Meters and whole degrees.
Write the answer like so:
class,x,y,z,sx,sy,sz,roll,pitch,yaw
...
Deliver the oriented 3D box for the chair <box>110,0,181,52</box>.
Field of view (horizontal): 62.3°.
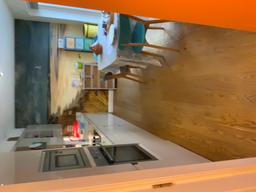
class,x,y,z,sx,sy,sz,roll,pitch,yaw
chair,0.210,-0.870,2.790,0.510,0.790,0.440,-178,88,-69
